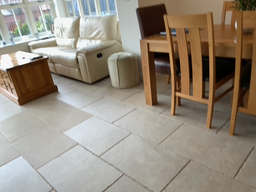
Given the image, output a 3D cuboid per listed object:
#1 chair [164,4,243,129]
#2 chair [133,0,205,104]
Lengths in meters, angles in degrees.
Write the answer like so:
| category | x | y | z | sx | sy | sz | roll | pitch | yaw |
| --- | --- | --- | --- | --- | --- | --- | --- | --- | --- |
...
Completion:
| category | x | y | z | sx | sy | sz | roll | pitch | yaw |
| --- | --- | --- | --- | --- | --- | --- | --- | --- | --- |
| chair | 0.680 | -0.280 | 1.950 | 0.490 | 0.960 | 0.430 | -27 | 31 | -35 |
| chair | 0.490 | -0.530 | 2.490 | 0.500 | 1.020 | 0.570 | -23 | 29 | -30 |
